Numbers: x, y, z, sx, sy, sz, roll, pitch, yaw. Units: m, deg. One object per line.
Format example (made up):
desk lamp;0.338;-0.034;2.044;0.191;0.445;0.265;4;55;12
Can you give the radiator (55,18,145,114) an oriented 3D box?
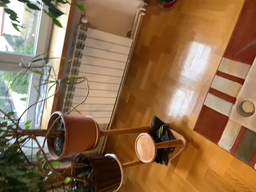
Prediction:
radiator;-0.270;-0.240;2.120;0.160;0.730;0.850;35;115;46
